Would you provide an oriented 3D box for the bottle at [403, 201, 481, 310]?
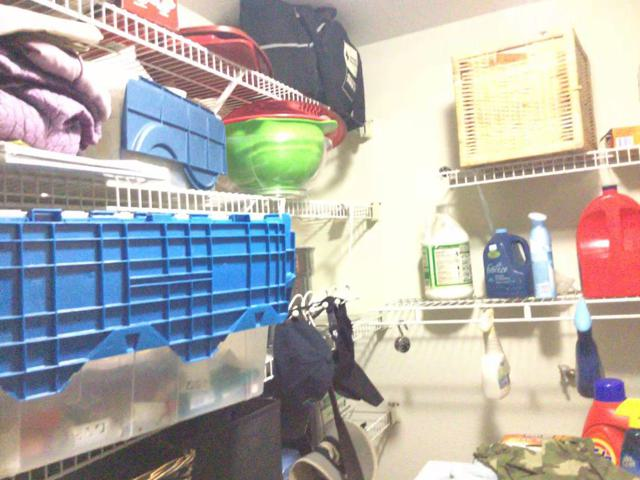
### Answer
[{"bbox_3d":[0.390,0.050,1.840,0.180,0.320,0.150,-6,-3,27],"label":"bottle"}]

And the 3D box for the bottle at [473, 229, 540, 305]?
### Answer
[{"bbox_3d":[0.570,0.080,1.760,0.150,0.210,0.170,-6,-3,27],"label":"bottle"}]

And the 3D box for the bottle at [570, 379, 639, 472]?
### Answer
[{"bbox_3d":[0.650,0.400,1.270,0.160,0.150,0.170,-6,-3,27],"label":"bottle"}]

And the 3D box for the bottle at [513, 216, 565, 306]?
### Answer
[{"bbox_3d":[0.630,0.060,1.660,0.100,0.240,0.160,-6,-3,27],"label":"bottle"}]
